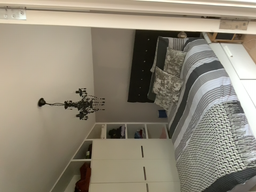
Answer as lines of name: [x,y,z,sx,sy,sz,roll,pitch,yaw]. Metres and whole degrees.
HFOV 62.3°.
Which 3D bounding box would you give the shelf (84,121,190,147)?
shelf: [0.190,0.820,4.570,0.330,2.180,0.410,98,171,-49]
